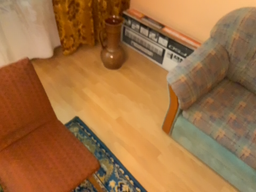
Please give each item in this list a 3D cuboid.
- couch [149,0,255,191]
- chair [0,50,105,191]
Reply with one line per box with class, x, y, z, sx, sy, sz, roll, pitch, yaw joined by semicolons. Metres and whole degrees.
couch;1.090;0.170;1.370;0.900;0.860;1.610;-35;59;-30
chair;-0.480;0.290;1.160;0.430;0.790;0.570;-32;58;-29
